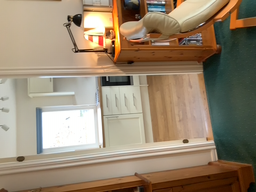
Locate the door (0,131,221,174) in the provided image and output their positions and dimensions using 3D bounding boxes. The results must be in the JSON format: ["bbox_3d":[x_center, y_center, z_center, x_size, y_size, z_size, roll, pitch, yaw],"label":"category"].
[{"bbox_3d":[-0.280,0.600,2.330,1.110,2.160,0.150,134,132,-72],"label":"door"}]
